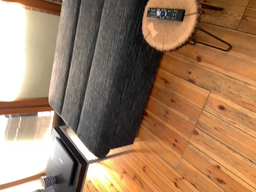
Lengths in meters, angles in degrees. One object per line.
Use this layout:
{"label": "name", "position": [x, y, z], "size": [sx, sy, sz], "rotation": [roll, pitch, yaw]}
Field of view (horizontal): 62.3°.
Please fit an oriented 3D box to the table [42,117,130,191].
{"label": "table", "position": [-0.390, 0.570, 1.880], "size": [0.500, 0.500, 0.530], "rotation": [35, 117, 40]}
